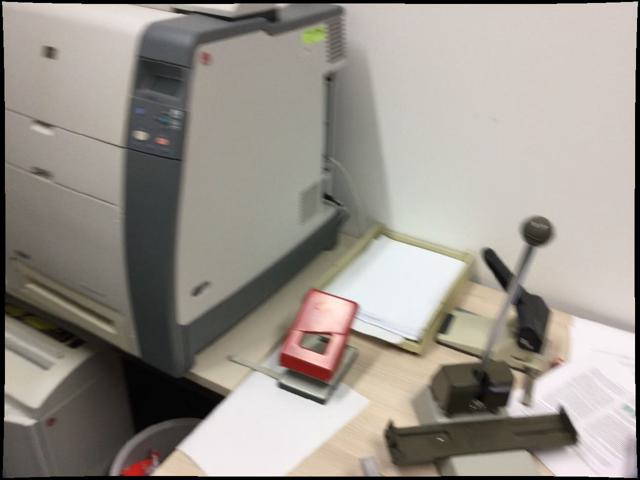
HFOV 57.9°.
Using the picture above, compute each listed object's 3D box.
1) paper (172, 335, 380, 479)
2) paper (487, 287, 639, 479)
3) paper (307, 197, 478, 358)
[{"bbox_3d":[-0.070,0.290,0.990,0.230,0.030,0.270,27,37,31],"label":"paper"},{"bbox_3d":[0.539,0.280,1.070,0.340,0.040,0.490,19,34,21],"label":"paper"},{"bbox_3d":[0.170,0.060,1.270,0.240,0.120,0.370,19,34,21],"label":"paper"}]
